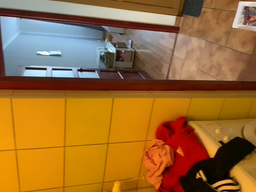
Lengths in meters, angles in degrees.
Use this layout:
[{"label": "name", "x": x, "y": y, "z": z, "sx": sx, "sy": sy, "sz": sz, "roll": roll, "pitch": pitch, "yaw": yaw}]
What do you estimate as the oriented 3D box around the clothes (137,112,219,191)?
[{"label": "clothes", "x": 0.210, "y": 0.340, "z": 1.040, "sx": 0.280, "sy": 0.180, "sz": 0.430, "roll": -120, "pitch": 35, "yaw": -56}]
